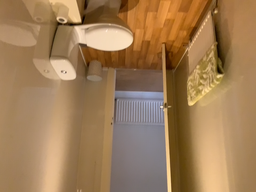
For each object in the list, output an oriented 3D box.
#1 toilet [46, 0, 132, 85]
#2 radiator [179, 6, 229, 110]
[{"bbox_3d":[-0.300,-0.560,1.920,0.620,0.780,0.470,2,162,-4],"label":"toilet"},{"bbox_3d":[0.700,-0.310,2.120,0.110,0.720,0.830,2,162,-2],"label":"radiator"}]
